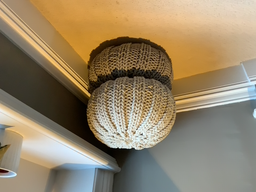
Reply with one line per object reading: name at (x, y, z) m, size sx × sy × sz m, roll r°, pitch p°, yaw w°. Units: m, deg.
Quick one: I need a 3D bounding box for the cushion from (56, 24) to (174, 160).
cushion at (-0.030, 0.010, 1.230) m, size 0.440 × 0.550 × 0.470 m, roll -12°, pitch 145°, yaw 20°
